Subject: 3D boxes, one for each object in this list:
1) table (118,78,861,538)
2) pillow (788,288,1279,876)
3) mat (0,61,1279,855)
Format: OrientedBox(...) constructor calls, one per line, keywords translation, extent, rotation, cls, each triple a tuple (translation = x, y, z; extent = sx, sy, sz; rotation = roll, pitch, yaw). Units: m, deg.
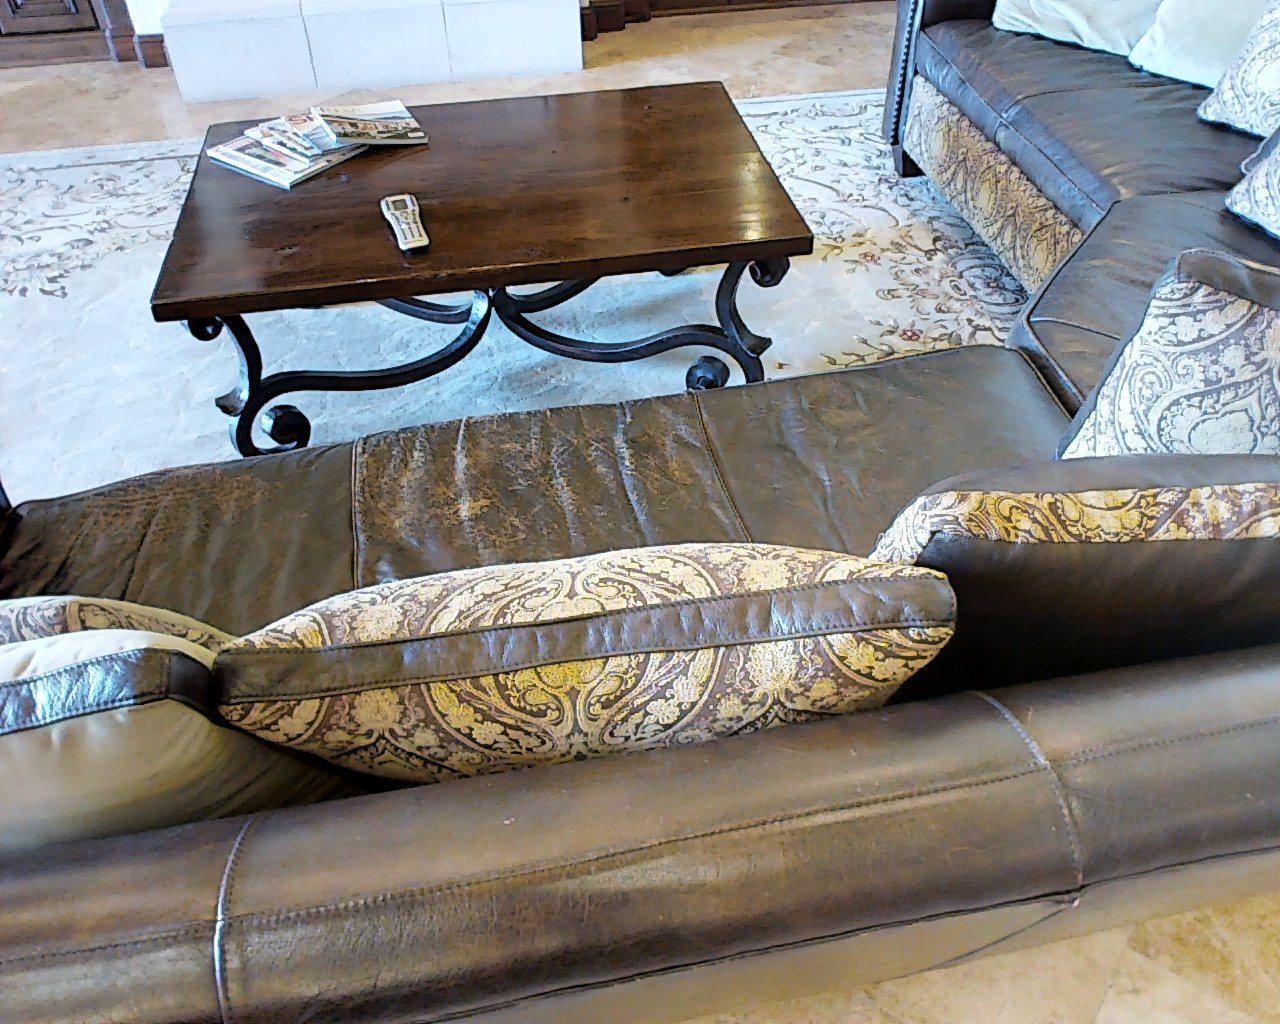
OrientedBox(translation=(-0.360, -0.580, 2.720), extent=(1.500, 0.540, 1.020), rotation=(-8, 42, -7), cls="table")
OrientedBox(translation=(0.580, 0.080, 1.230), extent=(0.740, 0.500, 0.440), rotation=(-1, 41, 1), cls="pillow")
OrientedBox(translation=(-0.310, -0.530, 3.010), extent=(4.890, 0.090, 2.970), rotation=(-7, 41, -5), cls="mat")
